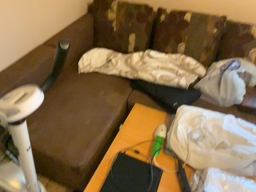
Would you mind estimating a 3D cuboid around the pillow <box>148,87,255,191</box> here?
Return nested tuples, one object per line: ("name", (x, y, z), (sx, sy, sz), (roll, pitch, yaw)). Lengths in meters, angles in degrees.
("pillow", (0.510, 0.240, 1.170), (0.660, 0.140, 0.500), (18, 45, 15))
